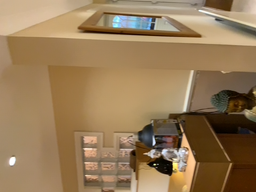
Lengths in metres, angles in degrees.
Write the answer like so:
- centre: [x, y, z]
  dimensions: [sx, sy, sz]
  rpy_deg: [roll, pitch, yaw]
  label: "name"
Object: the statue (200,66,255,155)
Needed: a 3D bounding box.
- centre: [1.130, 0.090, 1.640]
  dimensions: [0.580, 0.880, 0.440]
  rpy_deg: [-92, 4, -63]
  label: "statue"
